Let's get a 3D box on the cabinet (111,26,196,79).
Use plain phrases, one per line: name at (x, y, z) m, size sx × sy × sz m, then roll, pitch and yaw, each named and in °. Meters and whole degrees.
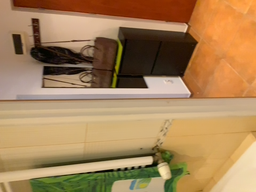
cabinet at (0.300, -0.530, 2.680) m, size 0.280 × 0.920 × 0.530 m, roll -109°, pitch 26°, yaw -47°
